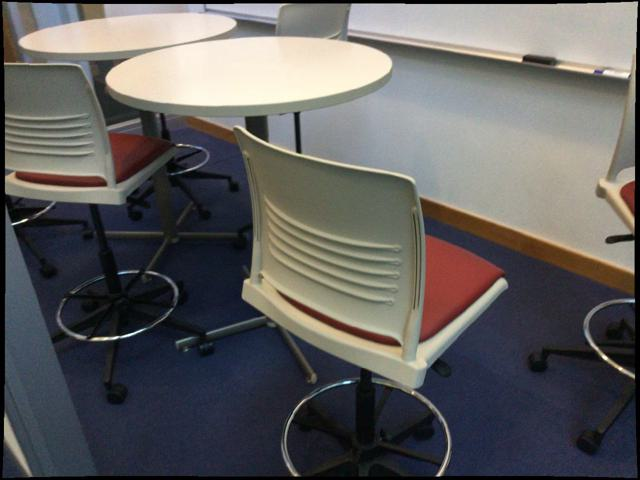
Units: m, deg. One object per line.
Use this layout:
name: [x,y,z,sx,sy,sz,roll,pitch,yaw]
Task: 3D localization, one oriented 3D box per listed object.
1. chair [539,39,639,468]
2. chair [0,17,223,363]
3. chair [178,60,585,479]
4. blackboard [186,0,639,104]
chair: [1.069,0.060,1.690,0.529,1.121,0.590,2,32,6]
chair: [-0.799,-0.190,2.100,0.599,1.061,0.610,4,32,10]
chair: [0.130,0.220,1.430,0.550,1.111,0.580,-28,40,-36]
blackboard: [0.440,-1.271,2.670,0.130,0.801,3.769,-28,40,-36]
